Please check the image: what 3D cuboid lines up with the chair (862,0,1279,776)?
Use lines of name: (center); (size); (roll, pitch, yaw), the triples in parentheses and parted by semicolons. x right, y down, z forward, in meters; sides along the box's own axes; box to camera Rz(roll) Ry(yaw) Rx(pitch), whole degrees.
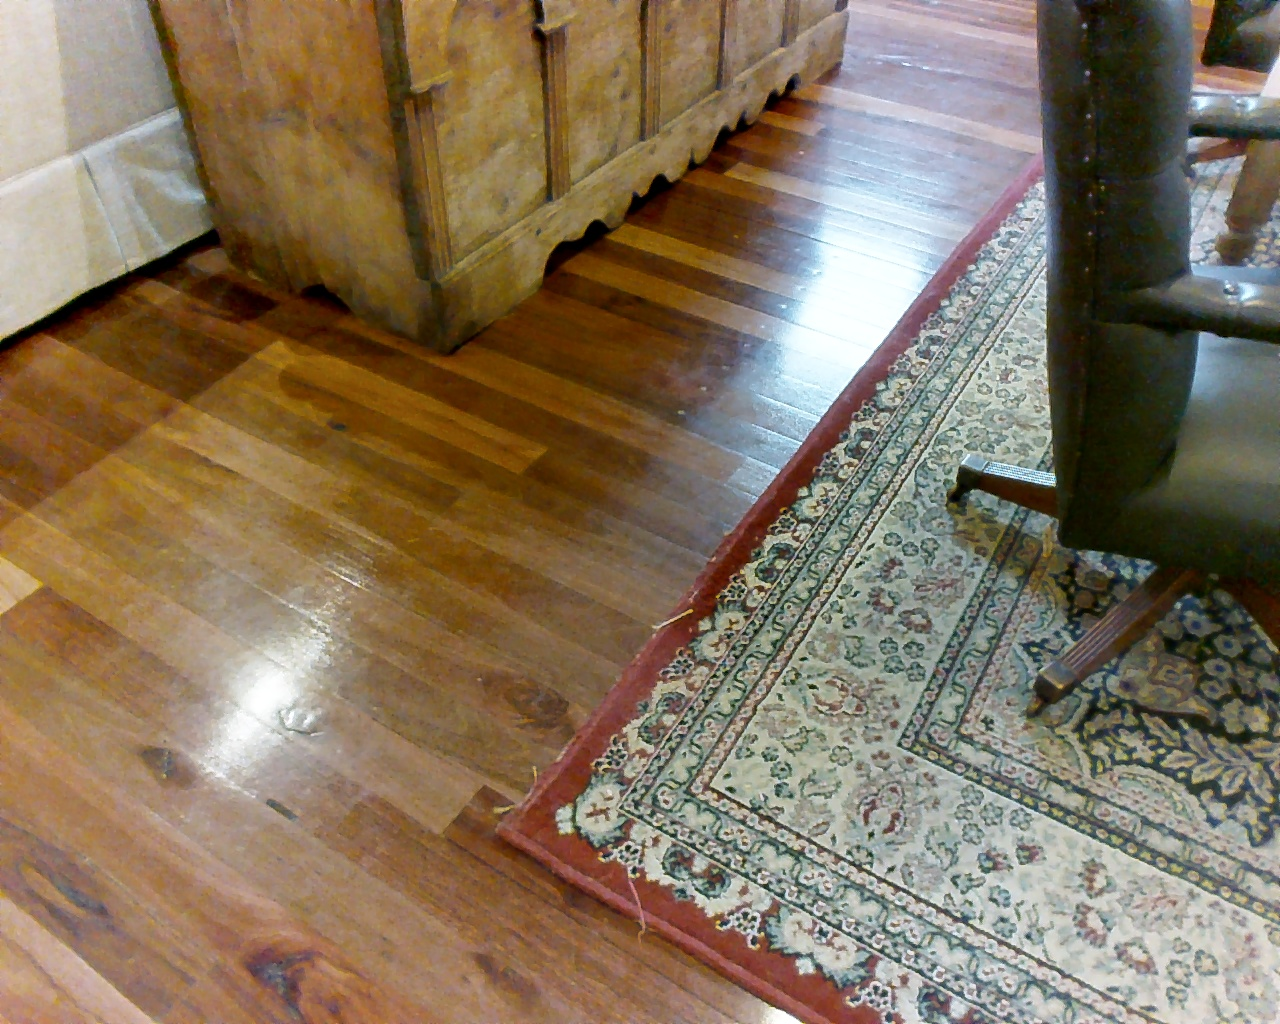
chair: (0.740, -0.240, 1.300); (0.700, 0.930, 0.590); (14, 44, 14)
